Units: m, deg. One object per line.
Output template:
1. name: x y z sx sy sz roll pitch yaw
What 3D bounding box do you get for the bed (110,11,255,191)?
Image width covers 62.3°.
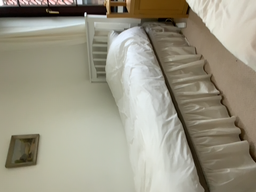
1. bed: 0.300 0.120 2.150 1.030 0.710 2.010 98 165 -47

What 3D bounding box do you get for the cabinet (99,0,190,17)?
1. cabinet: 0.150 -1.020 2.050 0.350 0.840 0.350 98 165 -47

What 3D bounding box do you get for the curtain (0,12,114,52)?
1. curtain: -1.070 -0.720 2.410 0.420 1.800 0.120 98 165 -47
